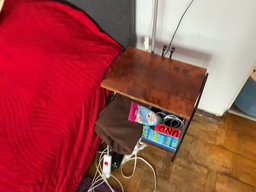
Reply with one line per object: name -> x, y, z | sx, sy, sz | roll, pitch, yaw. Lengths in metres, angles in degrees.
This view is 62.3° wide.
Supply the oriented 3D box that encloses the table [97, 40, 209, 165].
table -> 0.110, 0.050, 1.050 | 0.380, 0.470, 0.290 | 20, 54, 15
